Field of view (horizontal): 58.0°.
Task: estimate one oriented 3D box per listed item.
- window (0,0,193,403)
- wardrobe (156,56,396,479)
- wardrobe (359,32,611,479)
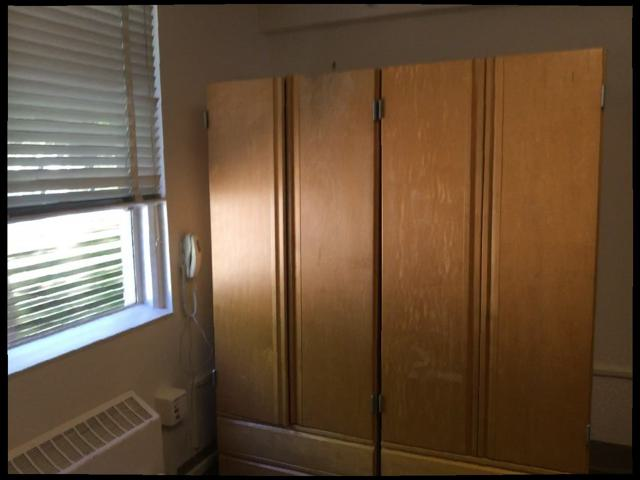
[{"bbox_3d":[-1.178,-0.240,1.860,0.320,1.523,1.789,1,8,28],"label":"window"},{"bbox_3d":[-0.190,0.271,2.450,0.979,1.894,0.190,1,8,28],"label":"wardrobe"},{"bbox_3d":[0.779,0.281,2.480,0.779,1.964,1.080,1,8,28],"label":"wardrobe"}]
